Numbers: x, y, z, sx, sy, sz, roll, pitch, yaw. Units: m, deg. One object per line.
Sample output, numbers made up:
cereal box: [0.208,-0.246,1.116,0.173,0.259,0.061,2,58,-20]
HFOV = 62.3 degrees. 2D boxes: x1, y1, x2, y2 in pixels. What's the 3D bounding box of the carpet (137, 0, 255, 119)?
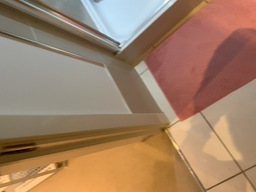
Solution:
carpet: [0.470,-0.280,1.190,0.770,0.050,0.490,-36,70,22]
